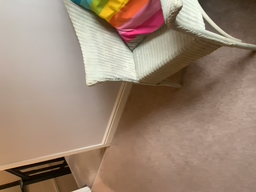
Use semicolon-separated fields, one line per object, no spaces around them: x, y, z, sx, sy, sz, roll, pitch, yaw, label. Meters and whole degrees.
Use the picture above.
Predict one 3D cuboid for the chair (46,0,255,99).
0.100;-0.430;1.080;0.650;0.770;0.670;-30;69;49;chair
